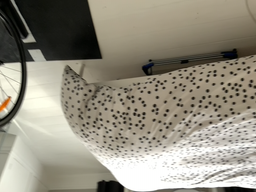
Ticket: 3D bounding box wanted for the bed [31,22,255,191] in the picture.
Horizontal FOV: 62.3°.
[{"bbox_3d":[0.740,0.330,1.860,2.230,0.590,1.780,-7,143,11],"label":"bed"}]
